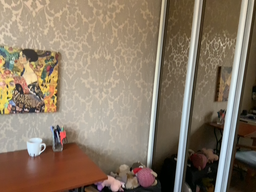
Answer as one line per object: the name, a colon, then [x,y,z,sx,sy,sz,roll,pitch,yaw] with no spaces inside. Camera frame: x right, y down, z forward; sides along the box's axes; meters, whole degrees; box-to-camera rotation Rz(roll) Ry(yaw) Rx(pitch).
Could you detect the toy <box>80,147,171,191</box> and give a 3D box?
toy: [-0.030,0.860,1.930,0.690,0.560,0.400,-1,11,-35]
